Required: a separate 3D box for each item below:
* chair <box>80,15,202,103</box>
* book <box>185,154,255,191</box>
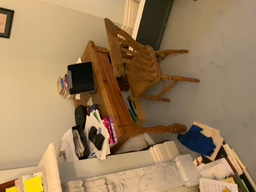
[{"bbox_3d":[0.110,-0.240,1.810,0.490,0.850,0.450,-34,61,48],"label":"chair"},{"bbox_3d":[0.680,0.700,1.550,0.410,0.120,0.370,-54,47,37],"label":"book"}]
